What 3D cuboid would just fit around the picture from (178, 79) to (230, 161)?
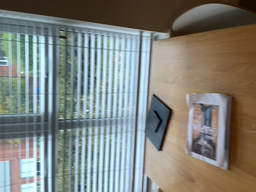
[{"bbox_3d":[0.330,0.090,0.960,0.240,0.040,0.320,-165,77,-65],"label":"picture"}]
